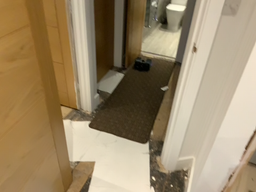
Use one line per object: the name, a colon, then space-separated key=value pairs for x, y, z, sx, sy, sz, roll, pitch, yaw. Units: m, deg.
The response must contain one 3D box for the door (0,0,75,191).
door: x=-0.470 y=0.020 z=0.710 sx=0.050 sy=2.030 sz=0.780 roll=12 pitch=37 yaw=11
